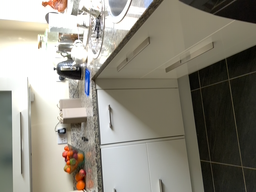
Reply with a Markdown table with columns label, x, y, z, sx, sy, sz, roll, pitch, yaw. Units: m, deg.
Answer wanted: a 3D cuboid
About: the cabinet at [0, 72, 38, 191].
| label | x | y | z | sx | sy | sz | roll | pitch | yaw |
| --- | --- | --- | --- | --- | --- | --- | --- | --- | --- |
| cabinet | -1.120 | 0.360 | 1.590 | 0.360 | 0.780 | 1.020 | 156 | 109 | -66 |
